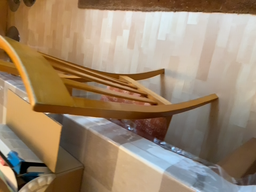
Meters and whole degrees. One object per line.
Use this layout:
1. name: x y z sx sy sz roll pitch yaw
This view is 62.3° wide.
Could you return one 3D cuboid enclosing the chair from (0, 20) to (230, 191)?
1. chair: -0.050 0.130 0.950 0.420 1.020 0.620 36 115 33
